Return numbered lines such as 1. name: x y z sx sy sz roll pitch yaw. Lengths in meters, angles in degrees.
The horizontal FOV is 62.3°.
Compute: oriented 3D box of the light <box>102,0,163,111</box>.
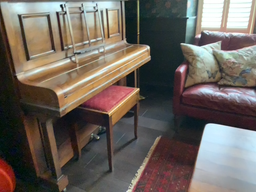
1. light: 0.070 -0.680 2.610 0.570 1.600 0.420 13 27 30
